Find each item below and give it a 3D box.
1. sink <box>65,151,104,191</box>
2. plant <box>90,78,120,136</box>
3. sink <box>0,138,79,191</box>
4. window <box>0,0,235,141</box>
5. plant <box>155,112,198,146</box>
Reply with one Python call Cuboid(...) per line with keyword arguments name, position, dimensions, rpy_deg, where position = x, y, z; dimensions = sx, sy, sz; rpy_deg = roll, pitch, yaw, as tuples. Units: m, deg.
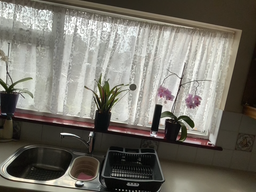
Cuboid(name="sink", position=(-0.280, 0.530, 1.410), dimensions=(0.200, 0.180, 0.320), rpy_deg=(9, 8, -5))
Cuboid(name="plant", position=(-0.180, 0.080, 1.650), dimensions=(0.160, 0.400, 0.190), rpy_deg=(9, 8, -6))
Cuboid(name="sink", position=(-0.600, 0.500, 1.380), dimensions=(0.450, 0.220, 0.510), rpy_deg=(9, 8, -5))
Cuboid(name="window", position=(-0.220, -0.210, 1.680), dimensions=(2.030, 0.900, 0.070), rpy_deg=(9, 8, -6))
Cuboid(name="plant", position=(0.380, 0.260, 1.700), dimensions=(0.280, 0.200, 0.140), rpy_deg=(9, 8, -5))
